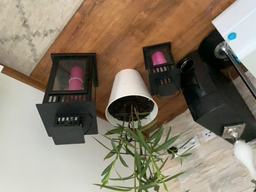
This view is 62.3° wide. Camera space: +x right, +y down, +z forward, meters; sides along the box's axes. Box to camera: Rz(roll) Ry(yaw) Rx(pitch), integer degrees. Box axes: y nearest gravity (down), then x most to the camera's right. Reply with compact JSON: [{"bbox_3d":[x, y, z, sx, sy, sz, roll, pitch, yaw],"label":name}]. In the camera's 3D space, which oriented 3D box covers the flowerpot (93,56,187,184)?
[{"bbox_3d":[0.030,0.120,1.180,0.380,0.560,0.230,-36,128,28],"label":"flowerpot"}]
